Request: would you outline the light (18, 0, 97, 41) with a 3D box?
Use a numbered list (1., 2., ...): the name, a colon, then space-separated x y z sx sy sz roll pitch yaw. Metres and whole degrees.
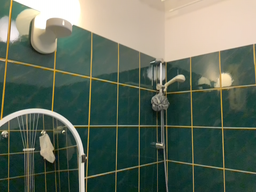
1. light: -0.300 -0.380 0.910 0.260 0.210 0.170 -5 -100 41
